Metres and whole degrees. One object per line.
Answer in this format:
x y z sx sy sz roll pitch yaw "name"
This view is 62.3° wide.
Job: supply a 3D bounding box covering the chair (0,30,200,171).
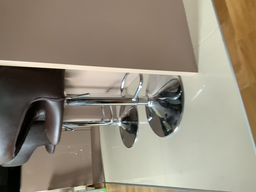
-0.200 0.050 1.040 0.540 0.860 0.450 156 112 -66 "chair"
